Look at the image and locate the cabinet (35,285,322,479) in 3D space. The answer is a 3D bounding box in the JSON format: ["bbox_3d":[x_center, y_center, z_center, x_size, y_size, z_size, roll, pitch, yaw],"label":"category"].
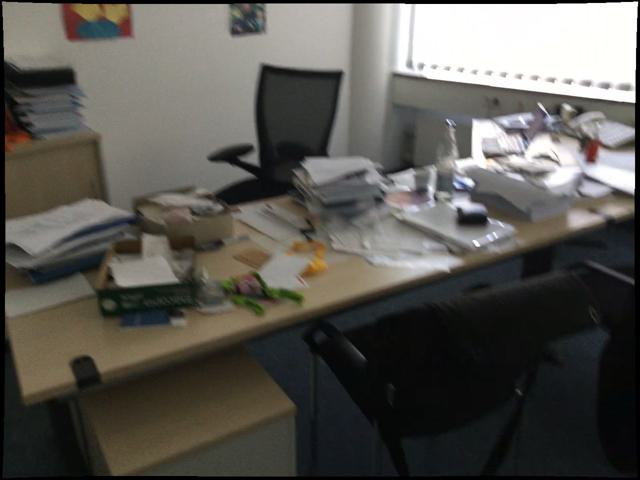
[{"bbox_3d":[-0.380,0.561,1.570,0.540,0.550,0.600,-15,29,-27],"label":"cabinet"}]
